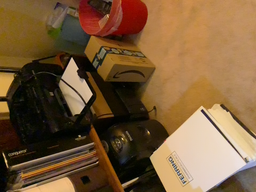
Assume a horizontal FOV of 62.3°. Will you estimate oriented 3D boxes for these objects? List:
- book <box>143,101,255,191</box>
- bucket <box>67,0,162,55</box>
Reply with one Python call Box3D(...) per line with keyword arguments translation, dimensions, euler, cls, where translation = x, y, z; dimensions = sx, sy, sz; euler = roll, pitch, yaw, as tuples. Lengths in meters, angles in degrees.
Box3D(translation=(0.290, 0.220, 0.830), dimensions=(0.260, 0.250, 0.290), euler=(55, 126, 28), cls="book")
Box3D(translation=(-0.080, -0.450, 1.150), dimensions=(0.290, 0.320, 0.290), euler=(-51, 58, 33), cls="bucket")
